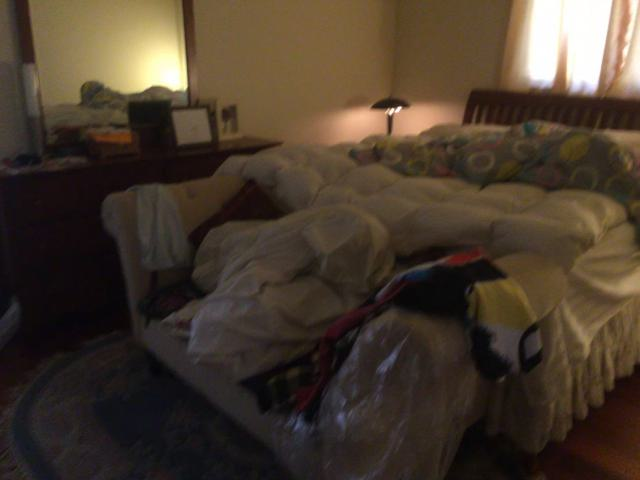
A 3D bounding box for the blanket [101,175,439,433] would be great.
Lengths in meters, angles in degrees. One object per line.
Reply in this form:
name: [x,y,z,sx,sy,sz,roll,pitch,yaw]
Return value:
blanket: [-0.190,0.120,2.080,0.770,0.490,0.900,-16,24,-42]
